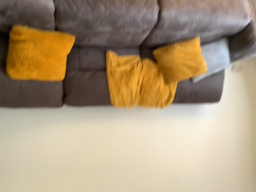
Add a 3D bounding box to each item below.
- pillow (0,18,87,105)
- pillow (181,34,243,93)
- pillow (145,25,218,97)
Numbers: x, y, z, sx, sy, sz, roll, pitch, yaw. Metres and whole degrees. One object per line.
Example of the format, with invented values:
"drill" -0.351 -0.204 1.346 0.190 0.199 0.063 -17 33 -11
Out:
"pillow" -0.700 -0.300 1.660 0.540 0.530 0.230 -32 140 -13
"pillow" 0.800 -0.300 2.040 0.400 0.360 0.170 -48 -179 -7
"pillow" 0.480 -0.310 1.960 0.480 0.410 0.170 -44 180 3
